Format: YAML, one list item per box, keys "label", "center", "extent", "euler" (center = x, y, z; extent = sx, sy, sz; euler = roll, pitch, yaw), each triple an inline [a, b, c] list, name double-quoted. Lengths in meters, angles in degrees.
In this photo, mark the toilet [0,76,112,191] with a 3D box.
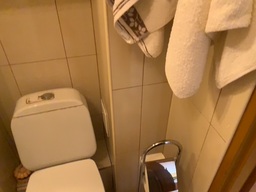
- label: "toilet"
  center: [-0.310, 0.430, 1.030]
  extent: [0.370, 0.770, 0.670]
  euler: [-9, 40, -13]
